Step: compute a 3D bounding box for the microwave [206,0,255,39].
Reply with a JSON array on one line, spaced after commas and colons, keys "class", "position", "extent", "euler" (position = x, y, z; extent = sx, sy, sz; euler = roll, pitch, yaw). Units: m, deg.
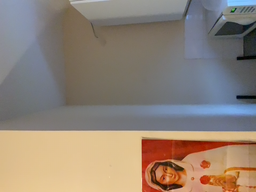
[{"class": "microwave", "position": [0.700, -0.640, 1.380], "extent": [0.480, 0.260, 0.410], "euler": [-13, -78, -82]}]
